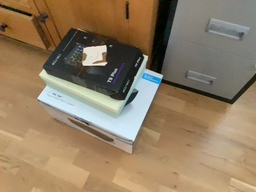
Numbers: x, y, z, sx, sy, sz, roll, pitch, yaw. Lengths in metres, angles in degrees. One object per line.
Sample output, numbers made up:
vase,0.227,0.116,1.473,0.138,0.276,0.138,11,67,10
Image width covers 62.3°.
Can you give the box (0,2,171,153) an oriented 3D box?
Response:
box,-0.150,-0.060,0.880,0.510,0.360,0.340,21,65,10
